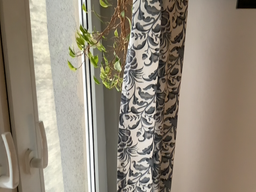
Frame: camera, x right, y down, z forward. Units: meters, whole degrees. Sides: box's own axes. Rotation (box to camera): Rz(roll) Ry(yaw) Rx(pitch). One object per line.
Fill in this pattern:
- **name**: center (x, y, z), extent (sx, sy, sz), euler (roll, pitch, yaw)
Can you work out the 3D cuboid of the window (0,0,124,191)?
- **window**: center (-0.340, 0.170, 0.410), extent (0.160, 1.760, 1.390), euler (3, -170, 20)
